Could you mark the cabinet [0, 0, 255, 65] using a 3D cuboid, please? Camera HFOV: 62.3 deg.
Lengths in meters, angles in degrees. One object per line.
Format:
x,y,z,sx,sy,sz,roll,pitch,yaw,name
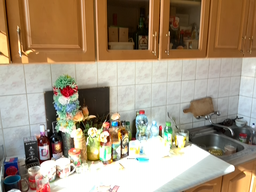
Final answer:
0.140,-0.600,1.350,2.440,0.730,0.320,-6,14,-26,cabinet
